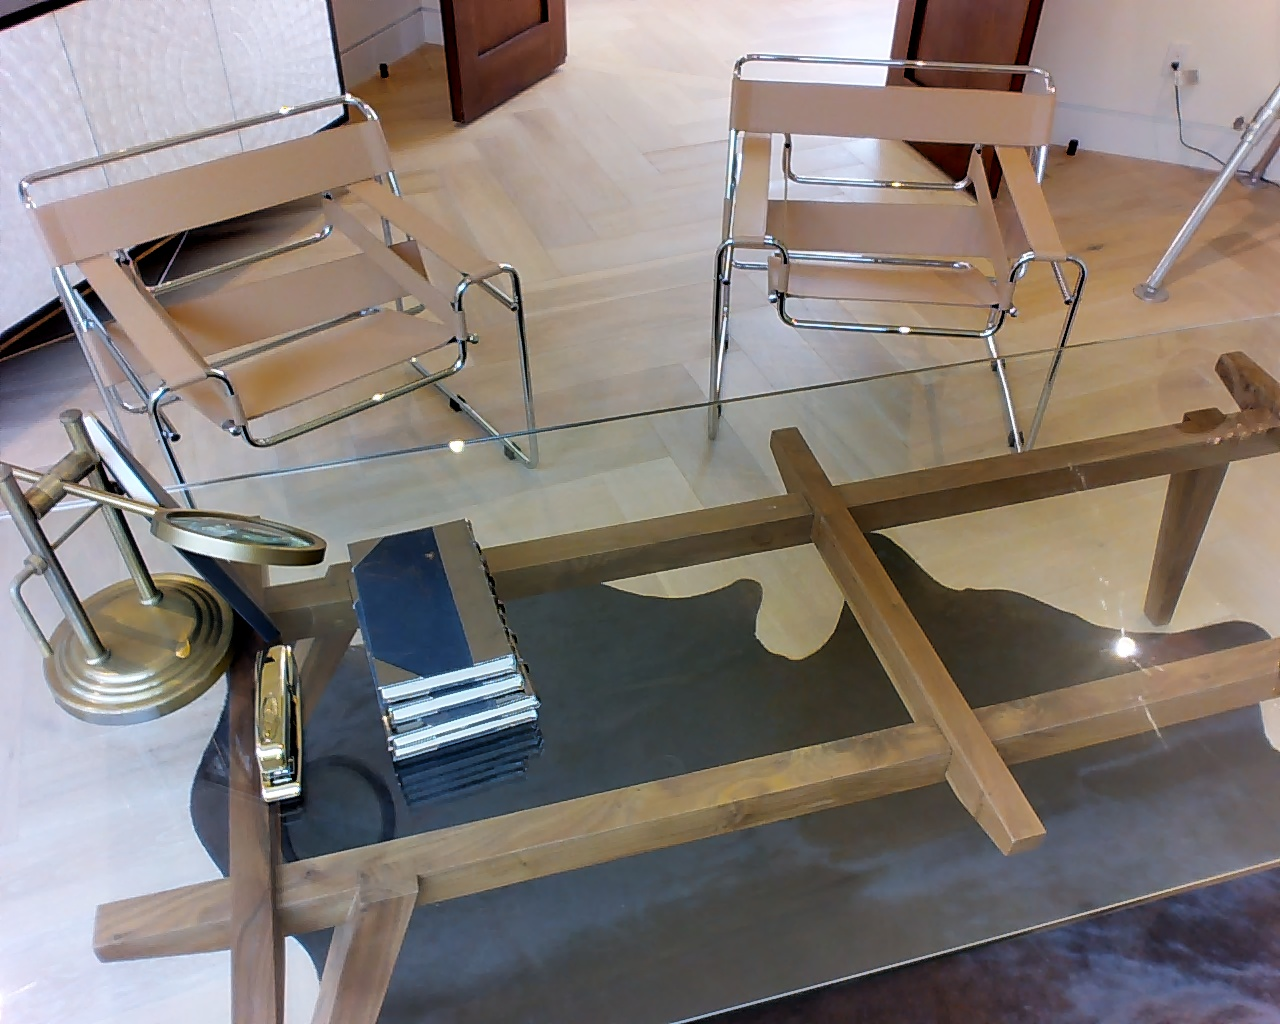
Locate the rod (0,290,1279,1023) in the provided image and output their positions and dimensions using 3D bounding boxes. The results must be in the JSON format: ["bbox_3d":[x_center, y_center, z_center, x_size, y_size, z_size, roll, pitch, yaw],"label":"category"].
[{"bbox_3d":[0.310,0.360,1.540,1.940,0.730,0.880,-11,44,-12],"label":"rod"}]

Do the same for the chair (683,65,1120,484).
[{"bbox_3d":[0.570,-0.600,2.630,0.840,0.680,0.730,5,43,5],"label":"chair"}]

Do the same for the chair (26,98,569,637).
[{"bbox_3d":[-0.710,-0.360,2.370,0.800,0.700,0.740,-26,49,-26],"label":"chair"}]
